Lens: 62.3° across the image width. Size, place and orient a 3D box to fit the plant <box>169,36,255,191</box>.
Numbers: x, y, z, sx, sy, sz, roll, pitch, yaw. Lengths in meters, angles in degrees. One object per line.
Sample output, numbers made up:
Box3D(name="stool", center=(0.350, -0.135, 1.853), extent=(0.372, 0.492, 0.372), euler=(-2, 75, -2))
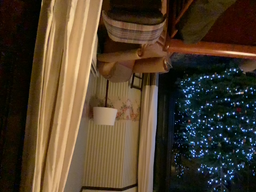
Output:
Box3D(name="plant", center=(1.930, 0.650, 4.360), extent=(1.620, 3.150, 1.390), euler=(5, 173, -8))

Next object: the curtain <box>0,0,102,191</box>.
Box3D(name="curtain", center=(-0.460, 0.320, 1.220), extent=(0.380, 3.430, 0.440), euler=(4, 173, 0))

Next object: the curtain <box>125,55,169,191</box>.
Box3D(name="curtain", center=(0.390, 0.810, 4.450), extent=(0.530, 3.190, 0.650), euler=(7, 173, -18))
